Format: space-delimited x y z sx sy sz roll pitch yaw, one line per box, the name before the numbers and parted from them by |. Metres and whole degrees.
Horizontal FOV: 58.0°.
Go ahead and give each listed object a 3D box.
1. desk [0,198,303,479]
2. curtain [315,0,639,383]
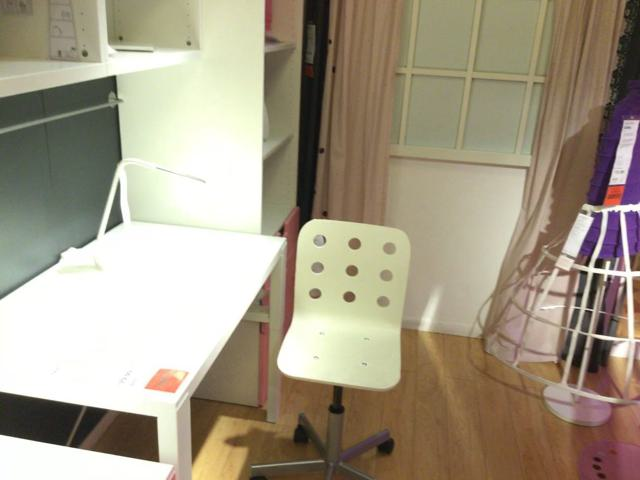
desk | -0.480 0.390 1.730 0.640 0.770 1.050 4 18 10
curtain | 0.590 -0.510 2.360 1.160 2.160 0.300 4 18 10
